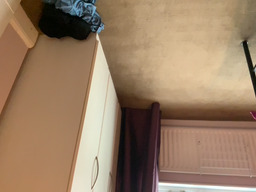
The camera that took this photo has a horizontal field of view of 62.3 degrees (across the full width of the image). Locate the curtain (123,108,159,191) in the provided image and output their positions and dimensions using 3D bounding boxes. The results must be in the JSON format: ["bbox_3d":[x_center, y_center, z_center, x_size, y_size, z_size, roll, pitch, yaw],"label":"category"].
[{"bbox_3d":[0.110,1.150,1.860,0.330,2.260,0.150,0,150,8],"label":"curtain"}]
